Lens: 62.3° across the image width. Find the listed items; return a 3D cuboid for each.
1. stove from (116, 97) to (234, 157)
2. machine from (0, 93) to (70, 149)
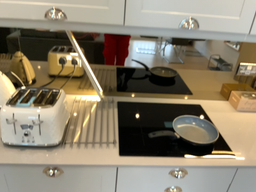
[{"bbox_3d":[0.230,0.160,1.300,0.600,0.010,0.550,3,29,-5],"label":"stove"},{"bbox_3d":[-0.460,0.120,1.040,0.310,0.210,0.170,1,29,-7],"label":"machine"}]
